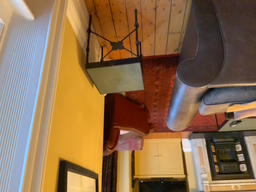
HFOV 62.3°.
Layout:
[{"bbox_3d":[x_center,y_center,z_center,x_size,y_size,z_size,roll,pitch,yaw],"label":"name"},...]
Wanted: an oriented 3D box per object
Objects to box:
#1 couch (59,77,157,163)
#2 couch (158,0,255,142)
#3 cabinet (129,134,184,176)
[{"bbox_3d":[-0.230,0.430,3.040,0.850,0.840,1.050,-16,151,29],"label":"couch"},{"bbox_3d":[1.540,-0.210,1.780,2.440,0.860,1.070,-3,155,3],"label":"couch"},{"bbox_3d":[0.690,1.520,5.380,1.250,0.890,0.530,-5,155,5],"label":"cabinet"}]
